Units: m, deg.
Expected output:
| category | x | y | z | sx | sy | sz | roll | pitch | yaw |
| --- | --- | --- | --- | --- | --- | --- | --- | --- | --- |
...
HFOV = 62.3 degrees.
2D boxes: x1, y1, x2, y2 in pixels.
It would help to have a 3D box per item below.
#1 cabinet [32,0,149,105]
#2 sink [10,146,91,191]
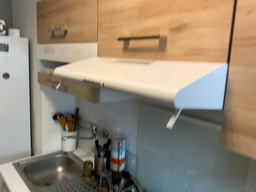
| category | x | y | z | sx | sy | sz | roll | pitch | yaw |
| --- | --- | --- | --- | --- | --- | --- | --- | --- | --- |
| cabinet | -0.300 | -0.330 | 1.350 | 0.320 | 0.590 | 0.830 | -6 | 14 | -41 |
| sink | -0.570 | 0.590 | 1.570 | 0.440 | 0.210 | 0.400 | -6 | 14 | -41 |
